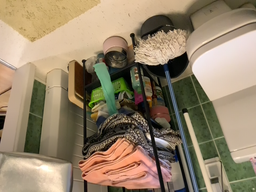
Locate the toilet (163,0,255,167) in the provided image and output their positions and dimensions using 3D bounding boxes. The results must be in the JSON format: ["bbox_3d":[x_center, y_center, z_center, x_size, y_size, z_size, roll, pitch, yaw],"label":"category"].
[{"bbox_3d":[0.540,-0.130,1.070,0.380,0.780,0.620,-22,145,21],"label":"toilet"}]
